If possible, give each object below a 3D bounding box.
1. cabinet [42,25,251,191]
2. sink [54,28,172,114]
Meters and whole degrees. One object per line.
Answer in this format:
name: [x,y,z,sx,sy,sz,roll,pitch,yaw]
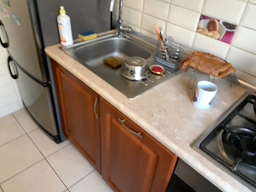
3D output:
cabinet: [0.020,0.170,1.390,0.610,0.860,0.960,-27,49,-35]
sink: [-0.090,-0.200,1.330,0.550,0.210,0.440,-27,49,-35]
